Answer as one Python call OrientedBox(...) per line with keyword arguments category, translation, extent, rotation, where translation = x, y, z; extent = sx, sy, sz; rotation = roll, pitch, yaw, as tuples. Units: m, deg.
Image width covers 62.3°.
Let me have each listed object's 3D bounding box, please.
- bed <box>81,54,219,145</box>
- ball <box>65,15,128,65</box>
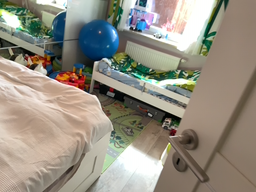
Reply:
OrientedBox(category="bed", translation=(0.330, -0.070, 3.080), extent=(1.750, 0.410, 0.890), rotation=(24, 27, 18))
OrientedBox(category="ball", translation=(-0.450, -0.850, 3.130), extent=(0.600, 0.500, 0.640), rotation=(22, 26, 14))
